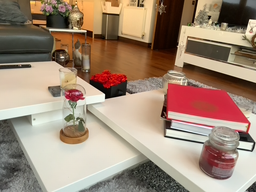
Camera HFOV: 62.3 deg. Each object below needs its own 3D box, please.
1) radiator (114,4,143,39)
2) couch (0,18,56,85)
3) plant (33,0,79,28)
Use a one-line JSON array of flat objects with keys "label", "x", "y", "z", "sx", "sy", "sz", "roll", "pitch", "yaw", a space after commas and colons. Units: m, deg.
[{"label": "radiator", "x": -0.010, "y": -1.670, "z": 4.720, "sx": 0.120, "sy": 0.680, "sz": 0.730, "roll": -13, "pitch": 28, "yaw": -39}, {"label": "couch", "x": -1.170, "y": -0.500, "z": 2.100, "sx": 0.540, "sy": 0.450, "sz": 1.030, "roll": -10, "pitch": 26, "yaw": -35}, {"label": "plant", "x": -0.770, "y": -0.880, "z": 2.260, "sx": 0.340, "sy": 0.250, "sz": 0.380, "roll": -12, "pitch": 27, "yaw": -38}]
